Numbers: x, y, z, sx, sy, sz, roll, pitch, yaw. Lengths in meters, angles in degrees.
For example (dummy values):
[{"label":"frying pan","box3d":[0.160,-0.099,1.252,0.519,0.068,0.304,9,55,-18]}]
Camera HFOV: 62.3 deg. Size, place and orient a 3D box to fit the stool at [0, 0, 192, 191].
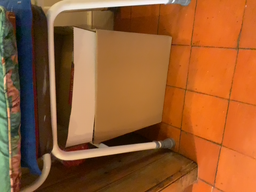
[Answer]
[{"label":"stool","box3d":[-0.160,-0.020,0.680,0.330,0.710,0.500,17,109,45]}]
